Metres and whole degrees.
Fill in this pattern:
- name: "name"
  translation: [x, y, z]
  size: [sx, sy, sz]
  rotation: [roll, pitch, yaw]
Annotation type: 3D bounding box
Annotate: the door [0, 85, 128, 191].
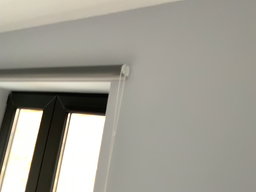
- name: "door"
  translation: [-0.650, 0.910, 1.260]
  size: [1.130, 2.000, 0.070]
  rotation: [2, -13, 29]
